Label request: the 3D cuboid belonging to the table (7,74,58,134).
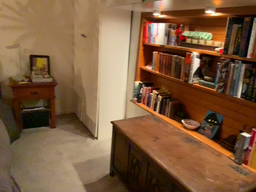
[{"bbox_3d":[-1.270,0.070,2.820,0.540,0.630,0.480,-5,19,-29],"label":"table"}]
